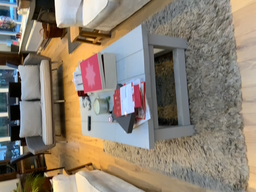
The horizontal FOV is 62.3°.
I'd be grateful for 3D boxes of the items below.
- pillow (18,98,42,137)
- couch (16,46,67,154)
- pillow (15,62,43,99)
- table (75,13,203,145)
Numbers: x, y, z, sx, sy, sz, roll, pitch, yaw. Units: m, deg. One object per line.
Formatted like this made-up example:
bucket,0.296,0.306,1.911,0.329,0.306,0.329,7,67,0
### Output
pillow,-2.000,0.430,4.340,0.150,0.390,0.740,171,95,-75
couch,-1.790,0.070,4.330,0.870,0.750,1.910,-5,88,59
pillow,-2.030,-0.310,4.350,0.150,0.450,0.720,129,137,-88
table,-0.030,-0.060,1.760,1.170,0.430,0.720,-9,84,58
